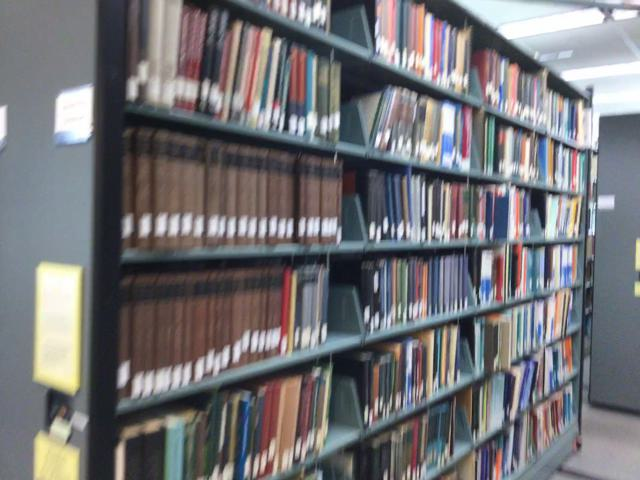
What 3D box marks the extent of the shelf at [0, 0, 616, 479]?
[{"bbox_3d":[0.070,0.250,2.960,1.910,2.580,3.750,0,-1,38],"label":"shelf"}]
